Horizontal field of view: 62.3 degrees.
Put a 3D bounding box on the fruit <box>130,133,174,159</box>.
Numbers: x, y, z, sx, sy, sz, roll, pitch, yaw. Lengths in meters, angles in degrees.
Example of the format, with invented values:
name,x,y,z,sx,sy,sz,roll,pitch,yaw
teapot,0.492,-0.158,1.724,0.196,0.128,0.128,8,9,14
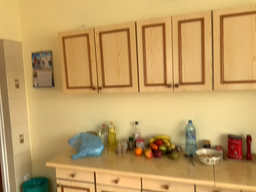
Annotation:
name,x,y,z,sx,sy,sz,roll,pitch,yaw
fruit,0.240,0.470,2.040,0.370,0.160,0.250,-1,5,18

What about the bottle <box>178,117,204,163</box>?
name,x,y,z,sx,sy,sz,roll,pitch,yaw
bottle,0.580,0.400,1.960,0.220,0.390,0.110,0,5,20
